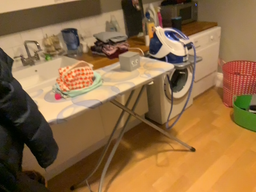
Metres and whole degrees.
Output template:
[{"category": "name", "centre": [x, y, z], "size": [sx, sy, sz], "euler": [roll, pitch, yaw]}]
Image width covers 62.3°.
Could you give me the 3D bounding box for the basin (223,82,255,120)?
[{"category": "basin", "centre": [1.330, 0.070, 2.120], "size": [0.570, 0.170, 0.400], "euler": [20, 38, 41]}]
